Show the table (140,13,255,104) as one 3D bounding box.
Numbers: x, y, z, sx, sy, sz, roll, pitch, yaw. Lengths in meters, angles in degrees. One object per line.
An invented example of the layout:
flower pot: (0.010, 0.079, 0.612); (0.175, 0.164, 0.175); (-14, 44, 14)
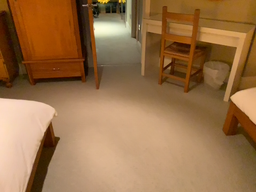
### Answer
table: (0.850, -0.540, 2.670); (1.290, 0.760, 0.530); (21, 37, 31)
